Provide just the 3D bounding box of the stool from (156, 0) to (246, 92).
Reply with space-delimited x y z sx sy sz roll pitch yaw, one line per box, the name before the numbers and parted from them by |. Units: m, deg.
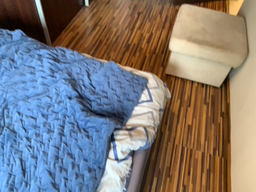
stool | 0.620 -0.450 1.870 0.570 0.420 0.580 15 52 6
